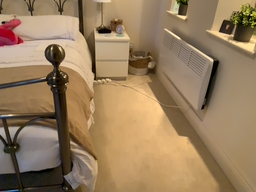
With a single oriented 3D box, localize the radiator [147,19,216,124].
[{"bbox_3d":[0.430,-0.350,2.150,0.140,0.590,1.290,-1,30,-8],"label":"radiator"}]
